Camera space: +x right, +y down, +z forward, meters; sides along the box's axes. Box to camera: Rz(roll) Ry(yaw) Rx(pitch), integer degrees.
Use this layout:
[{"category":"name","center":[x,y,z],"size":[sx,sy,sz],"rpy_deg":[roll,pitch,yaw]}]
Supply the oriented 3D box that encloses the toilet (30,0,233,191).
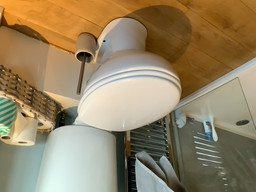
[{"category":"toilet","center":[-0.070,0.070,0.920],"size":[0.400,0.800,0.690],"rpy_deg":[18,144,-30]}]
